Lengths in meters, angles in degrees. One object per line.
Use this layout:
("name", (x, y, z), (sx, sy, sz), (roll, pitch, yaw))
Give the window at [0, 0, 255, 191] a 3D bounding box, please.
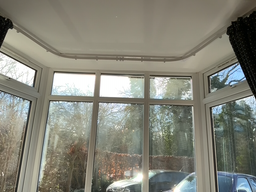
("window", (-0.110, 0.310, 1.780), (2.140, 1.740, 1.140), (1, -16, 3))
